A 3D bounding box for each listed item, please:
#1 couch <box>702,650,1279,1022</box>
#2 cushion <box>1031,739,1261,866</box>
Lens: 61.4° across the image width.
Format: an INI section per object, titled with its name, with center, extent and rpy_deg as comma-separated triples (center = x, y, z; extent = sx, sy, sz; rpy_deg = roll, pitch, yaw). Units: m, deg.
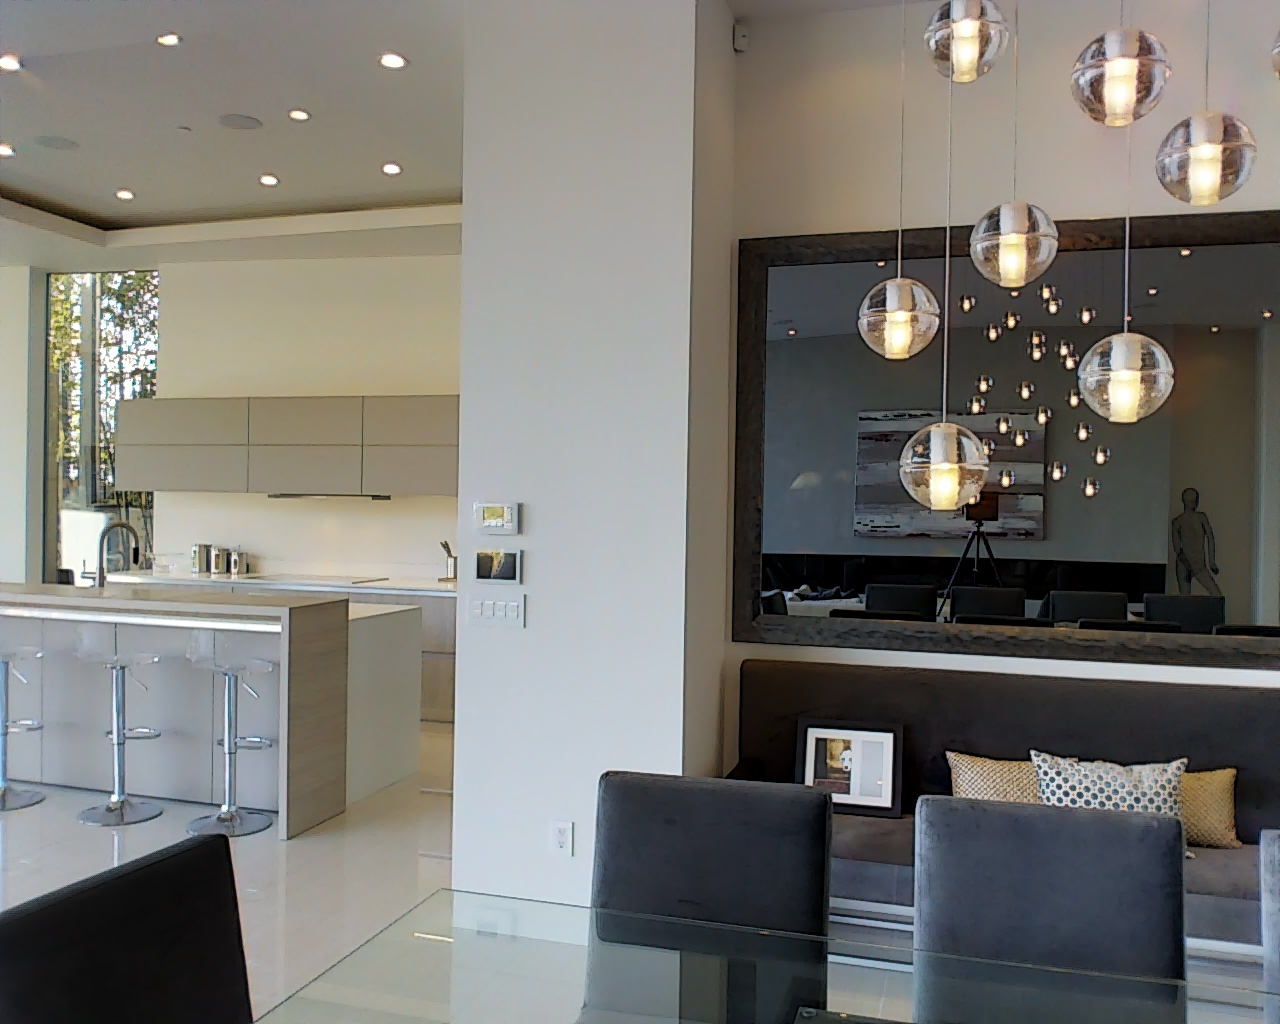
[couch]
center = 1.440, 1.000, 3.550
extent = 2.360, 0.890, 0.700
rpy_deg = 1, 0, 17
[cushion]
center = 1.620, 0.930, 3.510
extent = 0.630, 0.260, 0.370
rpy_deg = 1, 0, 17
